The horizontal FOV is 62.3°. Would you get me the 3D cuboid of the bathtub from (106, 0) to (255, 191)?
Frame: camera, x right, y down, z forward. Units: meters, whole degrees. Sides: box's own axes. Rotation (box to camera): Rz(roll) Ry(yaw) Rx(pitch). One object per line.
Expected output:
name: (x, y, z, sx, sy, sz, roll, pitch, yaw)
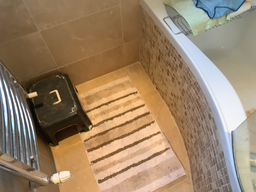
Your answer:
bathtub: (0.640, 0.120, 1.100, 0.880, 0.590, 1.640, -23, 62, -11)
